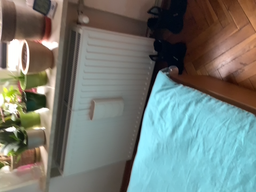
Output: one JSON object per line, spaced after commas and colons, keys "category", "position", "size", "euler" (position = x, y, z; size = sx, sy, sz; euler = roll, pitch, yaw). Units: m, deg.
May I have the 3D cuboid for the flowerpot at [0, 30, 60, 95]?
{"category": "flowerpot", "position": [-0.610, -0.210, 1.290], "size": [0.370, 0.230, 0.260], "euler": [38, 120, 43]}

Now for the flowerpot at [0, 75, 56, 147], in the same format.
{"category": "flowerpot", "position": [-0.770, 0.080, 1.330], "size": [0.350, 0.490, 0.320], "euler": [33, 118, 45]}

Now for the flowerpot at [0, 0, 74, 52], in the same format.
{"category": "flowerpot", "position": [-0.540, -0.400, 1.180], "size": [0.370, 0.320, 0.180], "euler": [36, 119, 44]}
